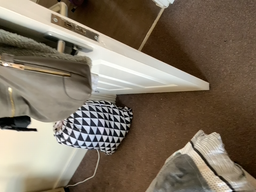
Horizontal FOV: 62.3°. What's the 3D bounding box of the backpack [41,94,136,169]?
[{"bbox_3d":[-0.300,0.270,1.650,0.370,0.520,0.350,46,112,36],"label":"backpack"}]
